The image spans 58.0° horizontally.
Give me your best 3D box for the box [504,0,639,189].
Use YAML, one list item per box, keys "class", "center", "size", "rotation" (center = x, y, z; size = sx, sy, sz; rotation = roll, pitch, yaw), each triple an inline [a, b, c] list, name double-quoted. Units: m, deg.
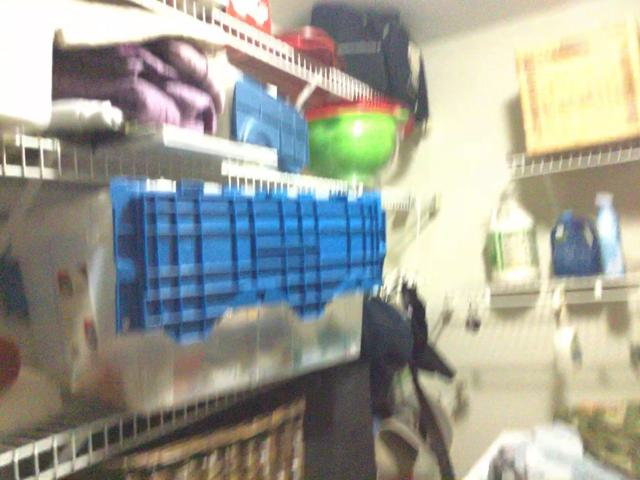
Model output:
- class: "box"
  center: [0.780, -0.410, 1.670]
  size: [0.360, 0.460, 0.340]
  rotation: [-7, -2, 31]
